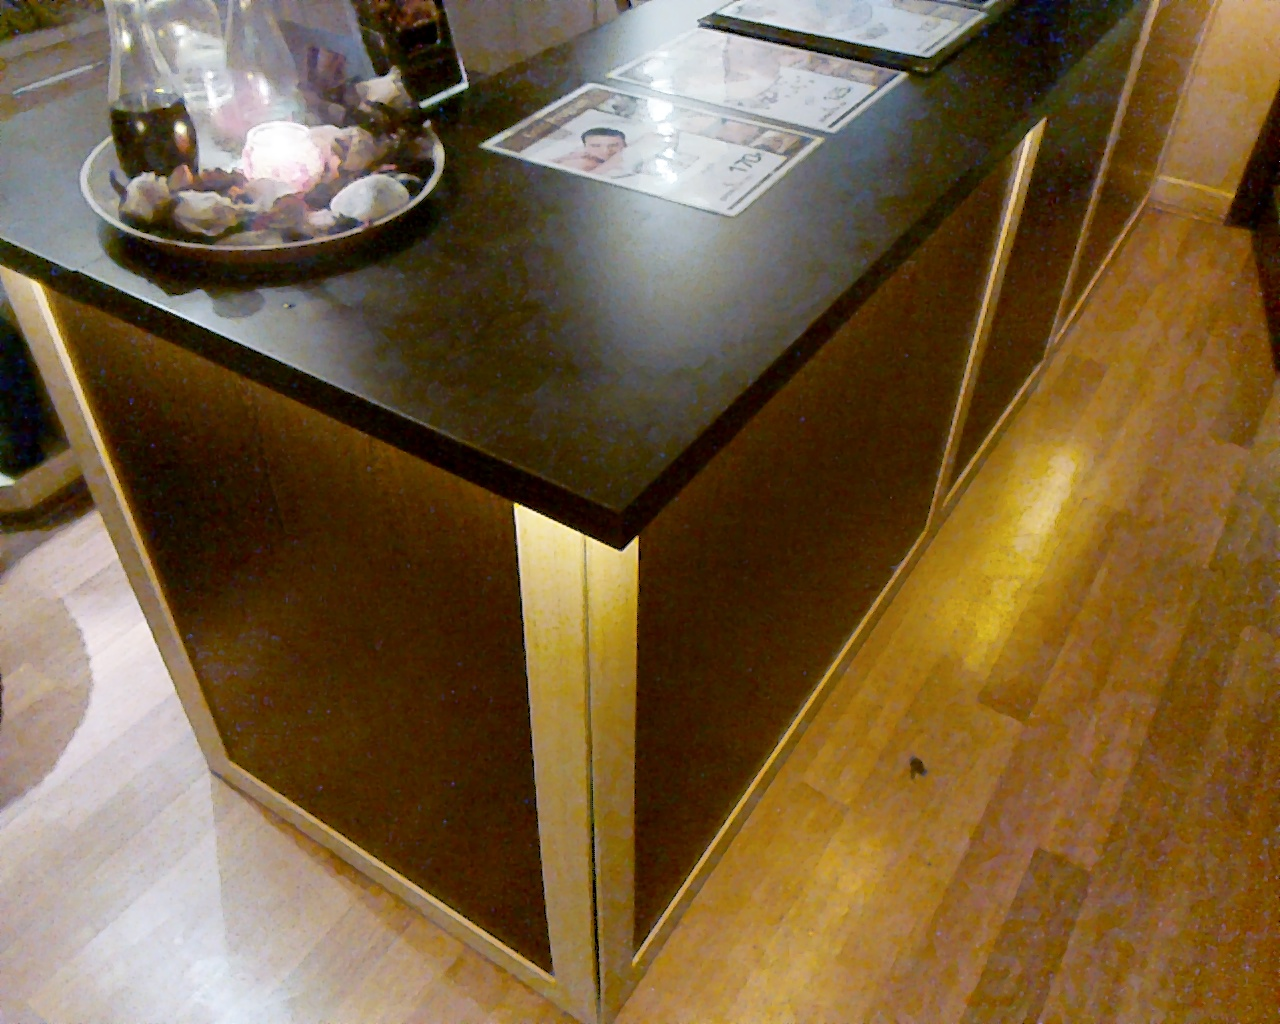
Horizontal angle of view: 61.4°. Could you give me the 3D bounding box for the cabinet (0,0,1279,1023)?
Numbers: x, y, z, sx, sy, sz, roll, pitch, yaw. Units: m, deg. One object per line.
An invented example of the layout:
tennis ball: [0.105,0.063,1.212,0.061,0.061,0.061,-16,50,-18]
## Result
cabinet: [-0.060,-1.500,2.090,2.560,2.620,3.540,25,48,24]

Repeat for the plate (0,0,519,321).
plate: [-0.360,-0.420,0.970,0.320,0.270,0.370,25,48,24]
